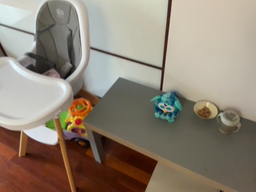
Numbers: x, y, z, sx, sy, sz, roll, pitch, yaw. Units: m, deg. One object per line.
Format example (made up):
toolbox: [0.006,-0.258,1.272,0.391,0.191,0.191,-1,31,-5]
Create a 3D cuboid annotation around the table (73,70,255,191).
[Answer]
table: [0.340,0.330,1.240,1.190,0.470,0.450,21,51,20]
